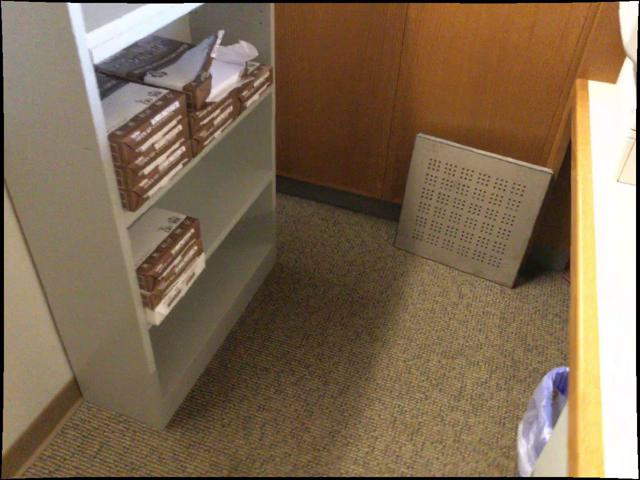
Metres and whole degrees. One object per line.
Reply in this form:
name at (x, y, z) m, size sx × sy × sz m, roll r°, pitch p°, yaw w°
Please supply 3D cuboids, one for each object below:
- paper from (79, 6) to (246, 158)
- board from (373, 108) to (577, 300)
paper at (-0.359, -0.381, 1.370) m, size 0.290 × 0.210 × 0.220 m, roll 21°, pitch 45°, yaw 16°
board at (0.499, -0.110, 1.960) m, size 0.509 × 0.501 × 0.130 m, roll 24°, pitch 41°, yaw 10°
